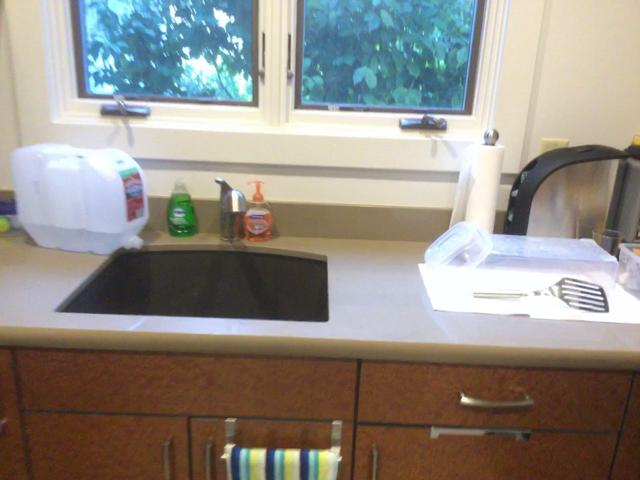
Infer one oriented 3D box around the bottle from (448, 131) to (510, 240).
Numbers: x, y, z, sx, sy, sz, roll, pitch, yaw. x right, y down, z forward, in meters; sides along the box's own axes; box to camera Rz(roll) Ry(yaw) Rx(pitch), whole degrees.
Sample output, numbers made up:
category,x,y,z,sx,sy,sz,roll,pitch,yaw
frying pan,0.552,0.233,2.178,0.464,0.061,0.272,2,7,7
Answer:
category,x,y,z,sx,sy,sz,roll,pitch,yaw
bottle,0.420,-0.150,1.550,0.090,0.260,0.160,3,16,-2
